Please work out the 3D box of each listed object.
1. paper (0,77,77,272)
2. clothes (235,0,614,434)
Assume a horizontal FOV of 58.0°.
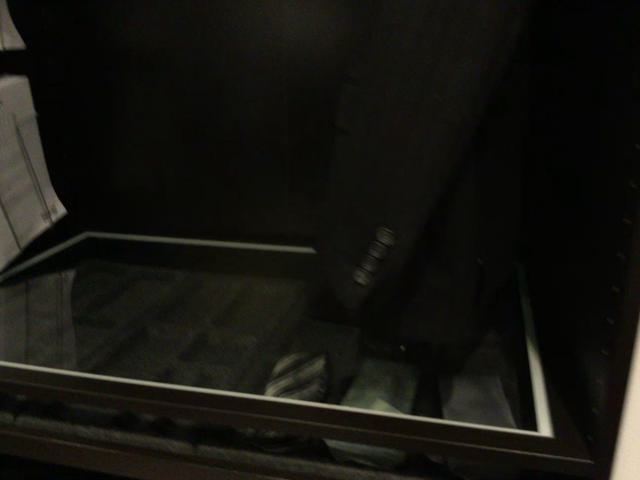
[{"bbox_3d":[-0.550,-0.120,1.010,0.070,0.310,0.250,6,18,13],"label":"paper"},{"bbox_3d":[0.130,-0.280,0.660,0.280,0.770,0.510,3,18,14],"label":"clothes"}]
